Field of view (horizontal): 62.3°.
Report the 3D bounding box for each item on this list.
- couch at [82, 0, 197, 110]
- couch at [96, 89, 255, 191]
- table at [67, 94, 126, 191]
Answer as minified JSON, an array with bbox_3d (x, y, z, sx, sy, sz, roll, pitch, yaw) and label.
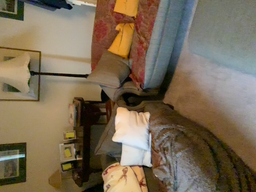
[{"bbox_3d":[0.090,-0.970,2.410,1.060,0.740,1.980,42,125,55],"label":"couch"},{"bbox_3d":[0.410,0.880,1.780,1.800,0.680,1.060,55,136,47],"label":"couch"},{"bbox_3d":[-0.540,0.810,3.510,0.580,0.780,1.660,6,95,62],"label":"table"}]
